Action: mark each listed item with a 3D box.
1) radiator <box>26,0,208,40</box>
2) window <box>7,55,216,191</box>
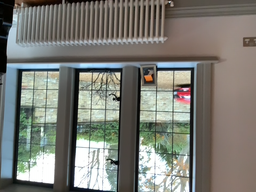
[{"bbox_3d":[-0.160,-0.790,2.090,1.780,0.430,0.100,2,177,10],"label":"radiator"},{"bbox_3d":[-0.270,0.310,2.520,2.430,1.580,0.120,2,177,10],"label":"window"}]
